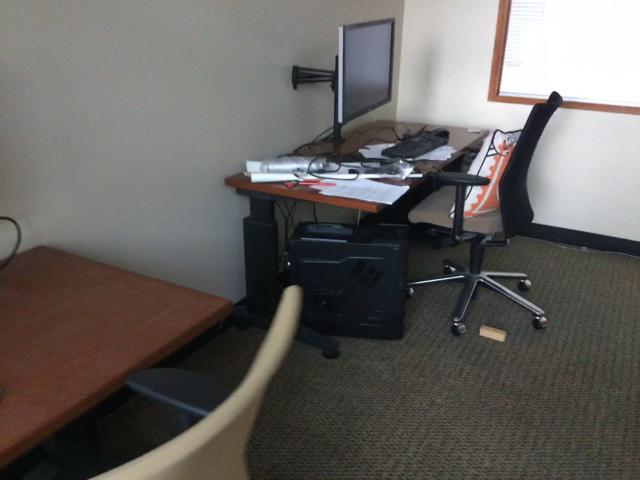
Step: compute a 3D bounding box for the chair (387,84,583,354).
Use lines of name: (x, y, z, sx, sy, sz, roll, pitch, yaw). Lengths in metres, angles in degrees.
chair: (0.740, -0.150, 2.590, 0.650, 1.010, 0.650, 7, 20, 30)
